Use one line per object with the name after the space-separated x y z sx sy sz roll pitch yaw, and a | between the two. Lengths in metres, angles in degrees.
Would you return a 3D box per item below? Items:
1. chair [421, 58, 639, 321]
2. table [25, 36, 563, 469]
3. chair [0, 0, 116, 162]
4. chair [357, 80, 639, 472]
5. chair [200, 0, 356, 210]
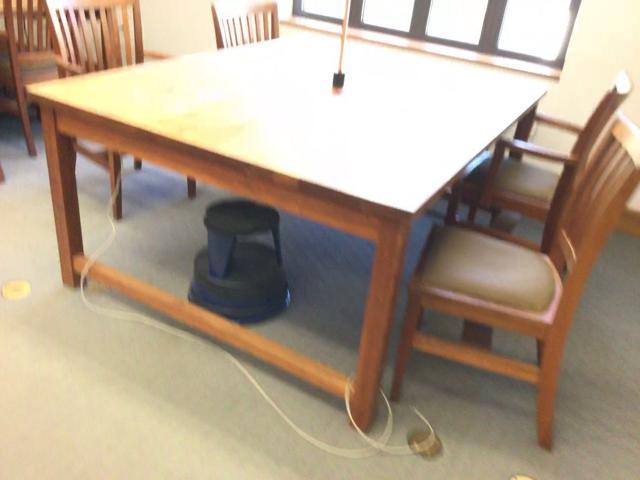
0.890 -0.250 2.450 0.600 0.900 0.530 18 22 23 | chair
0.050 -0.250 2.410 1.390 0.950 1.730 18 25 23 | table
-1.650 -1.040 3.270 0.670 0.960 0.640 18 25 23 | chair
0.590 0.050 1.840 0.610 0.950 0.620 18 25 23 | chair
-0.230 -0.740 3.070 0.530 0.950 0.550 18 25 23 | chair
